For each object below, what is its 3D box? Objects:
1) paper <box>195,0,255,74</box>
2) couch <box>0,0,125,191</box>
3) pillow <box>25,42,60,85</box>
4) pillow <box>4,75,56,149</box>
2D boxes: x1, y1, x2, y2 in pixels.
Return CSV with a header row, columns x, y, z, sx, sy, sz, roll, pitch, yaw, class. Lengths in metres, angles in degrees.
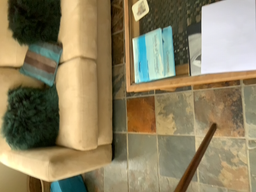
x,y,z,sx,sy,sz,roll,pitch,yaw,class
0.420,-0.270,0.880,0.240,0.060,0.310,-9,81,40,paper
-0.750,-0.620,1.950,1.080,0.900,2.450,-5,84,41,couch
-0.750,-0.270,1.850,0.280,0.150,0.330,3,89,41,pillow
-0.810,0.140,1.780,0.140,0.400,0.540,-9,82,16,pillow
